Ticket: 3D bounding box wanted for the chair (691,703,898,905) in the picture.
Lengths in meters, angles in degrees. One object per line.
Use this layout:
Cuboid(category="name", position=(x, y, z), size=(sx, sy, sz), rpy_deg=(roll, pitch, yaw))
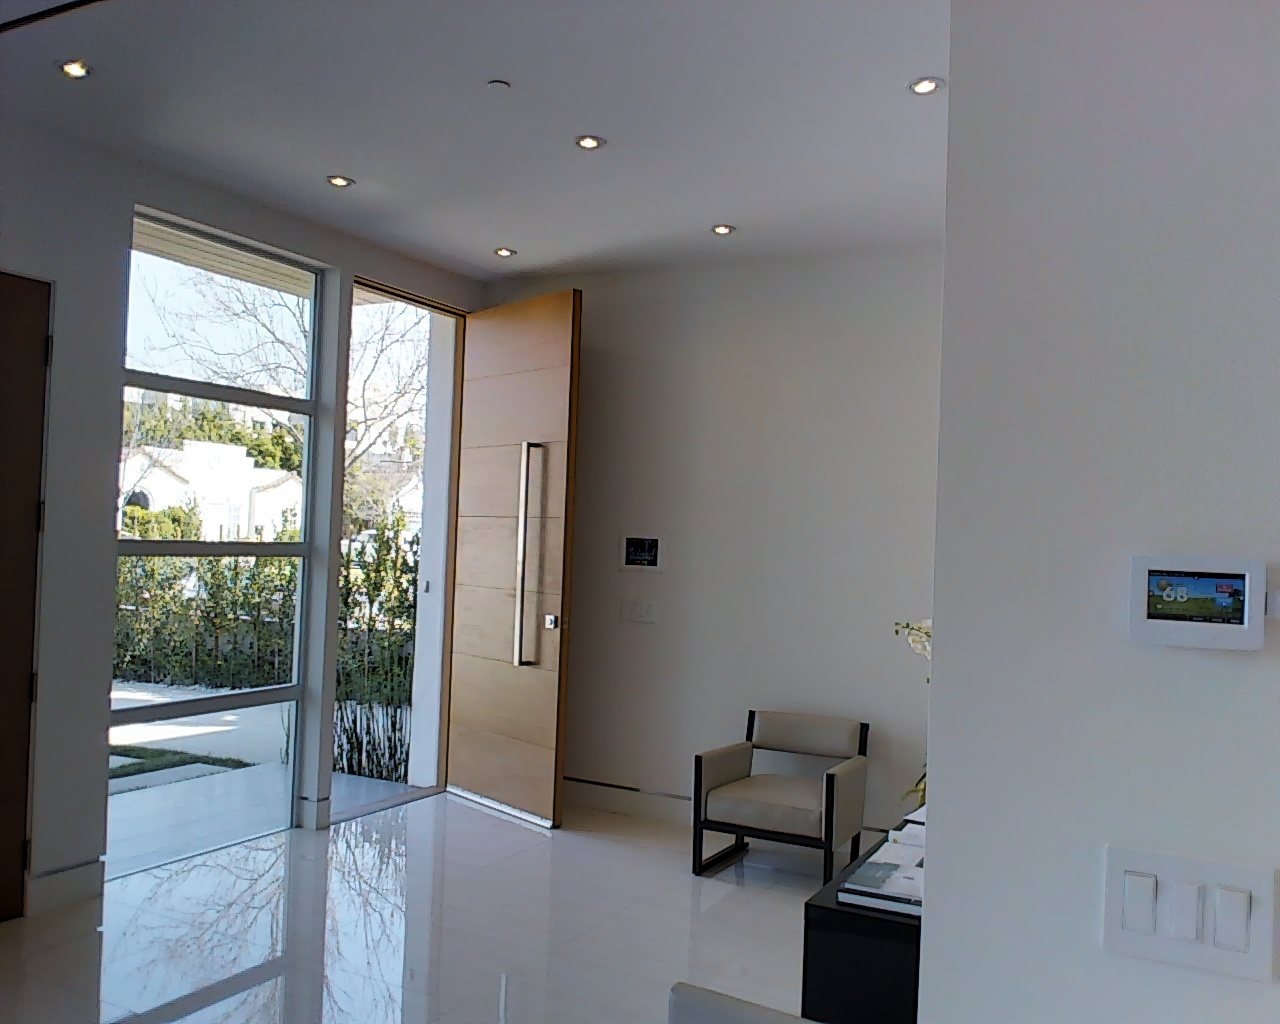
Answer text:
Cuboid(category="chair", position=(0.750, 1.341, 5.110), size=(0.730, 0.690, 0.770), rpy_deg=(1, -1, 29))
